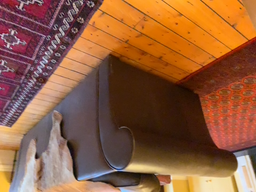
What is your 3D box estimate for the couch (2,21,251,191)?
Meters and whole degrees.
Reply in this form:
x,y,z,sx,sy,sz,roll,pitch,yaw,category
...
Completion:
x,y,z,sx,sy,sz,roll,pitch,yaw,category
-0.370,0.570,2.150,1.060,0.860,2.440,17,145,-35,couch
